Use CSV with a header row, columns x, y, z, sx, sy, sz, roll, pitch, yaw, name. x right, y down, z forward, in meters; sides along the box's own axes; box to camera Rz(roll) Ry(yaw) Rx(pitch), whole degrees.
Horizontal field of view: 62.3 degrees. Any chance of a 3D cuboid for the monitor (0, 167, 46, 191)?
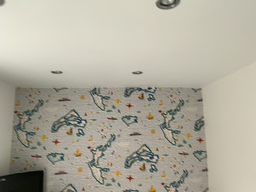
x,y,z,sx,sy,sz,roll,pitch,yaw,name
-0.900,0.780,1.680,0.040,0.350,0.500,-7,-11,36,monitor
